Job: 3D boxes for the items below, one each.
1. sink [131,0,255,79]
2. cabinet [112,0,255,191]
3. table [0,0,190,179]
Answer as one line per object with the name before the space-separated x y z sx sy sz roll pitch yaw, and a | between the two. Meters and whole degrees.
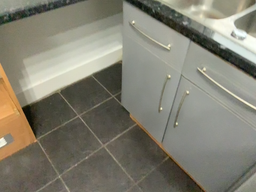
sink | 0.350 -0.380 1.020 0.520 0.220 0.400 -30 56 -27
cabinet | 0.420 -0.060 1.190 0.620 0.910 0.860 -30 56 -27
table | -0.540 -0.360 1.410 1.650 0.900 0.920 -30 56 -27
